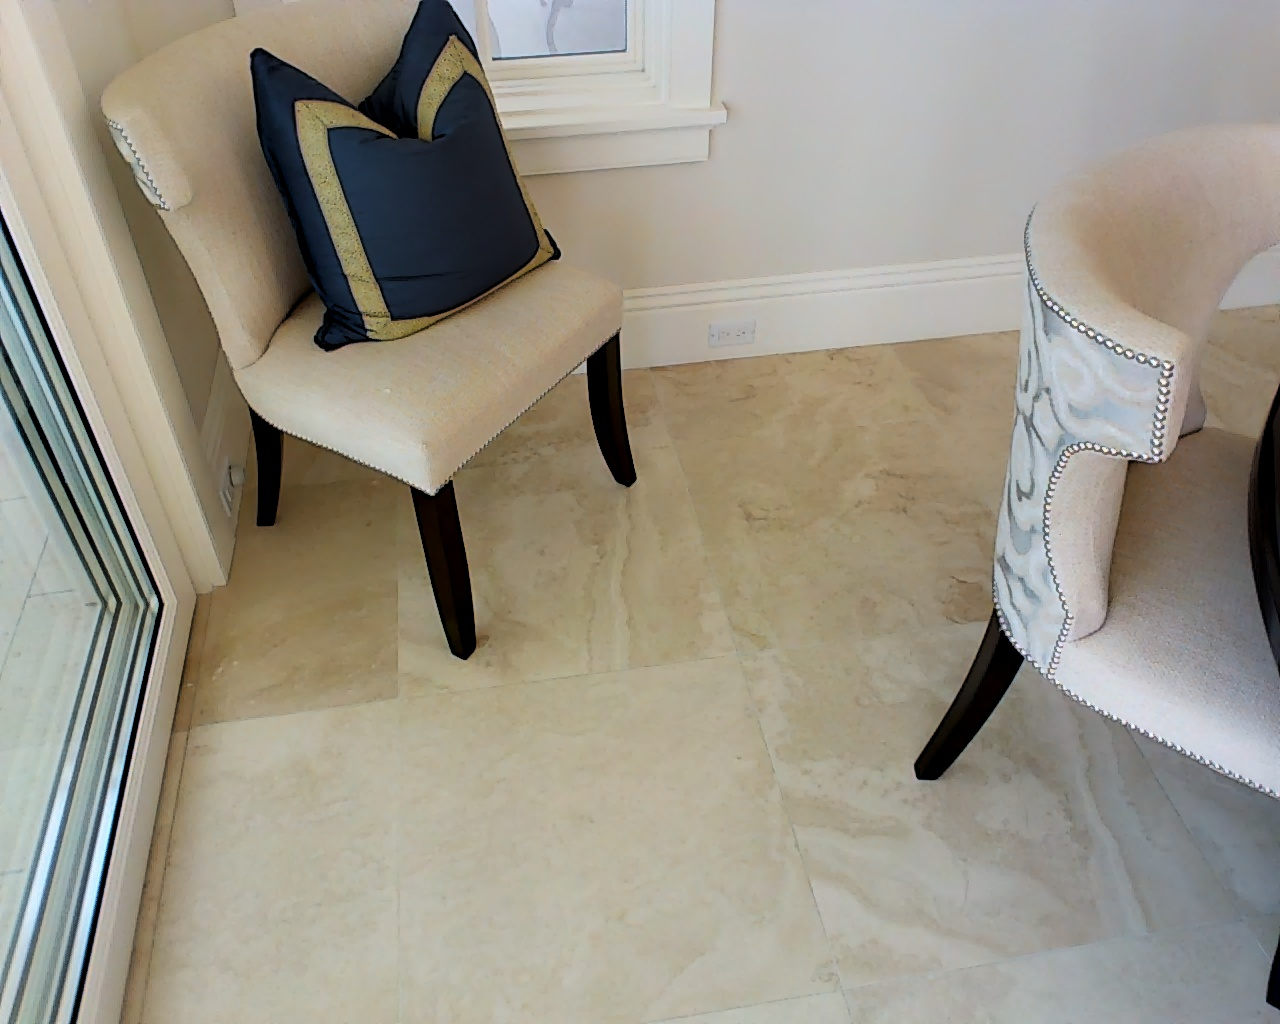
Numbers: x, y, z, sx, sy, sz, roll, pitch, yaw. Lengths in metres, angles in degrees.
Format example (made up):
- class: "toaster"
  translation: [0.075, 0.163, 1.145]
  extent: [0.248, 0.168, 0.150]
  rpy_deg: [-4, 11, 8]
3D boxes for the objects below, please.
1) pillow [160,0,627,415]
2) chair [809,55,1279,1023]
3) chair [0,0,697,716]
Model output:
- class: "pillow"
  translation: [-0.370, -0.570, 1.820]
  extent: [0.320, 0.500, 0.580]
  rpy_deg: [24, 54, 34]
- class: "chair"
  translation: [0.830, 0.080, 1.450]
  extent: [0.850, 0.990, 0.720]
  rpy_deg: [26, 48, 26]
- class: "chair"
  translation: [-0.420, -0.340, 1.940]
  extent: [0.720, 0.950, 0.750]
  rpy_deg: [26, 48, 26]
